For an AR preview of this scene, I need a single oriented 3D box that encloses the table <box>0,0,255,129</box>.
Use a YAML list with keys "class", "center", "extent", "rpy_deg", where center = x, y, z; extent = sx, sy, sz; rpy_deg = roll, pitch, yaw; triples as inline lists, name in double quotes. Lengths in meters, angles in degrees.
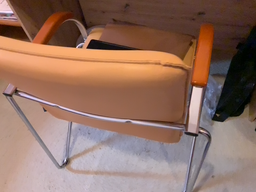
- class: "table"
  center: [0.150, -0.380, 1.050]
  extent: [1.250, 0.740, 0.590]
  rpy_deg: [11, 59, 14]
